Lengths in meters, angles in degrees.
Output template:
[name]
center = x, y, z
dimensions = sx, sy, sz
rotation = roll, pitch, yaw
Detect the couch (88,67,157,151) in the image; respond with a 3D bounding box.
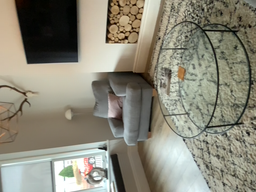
[couch]
center = -0.170, 0.140, 3.600
dimensions = 1.040, 0.860, 1.010
rotation = -126, 36, -61

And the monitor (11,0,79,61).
[monitor]
center = -0.990, -0.950, 2.600
dimensions = 0.040, 0.710, 1.170
rotation = -110, 21, -44
